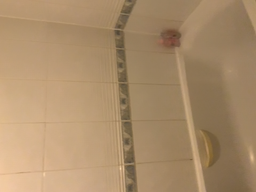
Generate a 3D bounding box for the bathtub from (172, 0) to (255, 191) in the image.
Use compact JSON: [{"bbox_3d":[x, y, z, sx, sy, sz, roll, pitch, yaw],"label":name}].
[{"bbox_3d":[0.780,0.220,1.130,0.710,0.560,1.650,131,137,-64],"label":"bathtub"}]
